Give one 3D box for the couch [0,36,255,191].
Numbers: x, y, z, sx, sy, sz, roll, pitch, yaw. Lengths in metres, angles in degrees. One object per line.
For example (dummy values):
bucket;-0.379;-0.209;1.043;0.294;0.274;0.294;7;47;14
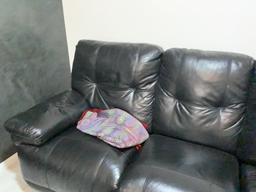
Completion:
couch;0.110;0.220;1.440;1.590;0.950;1.000;12;28;24
